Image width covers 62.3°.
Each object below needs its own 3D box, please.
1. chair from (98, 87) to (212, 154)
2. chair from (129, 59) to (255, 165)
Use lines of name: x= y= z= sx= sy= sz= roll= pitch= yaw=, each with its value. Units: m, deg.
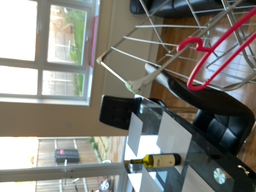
chair: x=0.240 y=0.230 z=2.150 sx=0.540 sy=0.940 sz=0.410 roll=-127 pitch=45 yaw=-59
chair: x=0.550 y=0.100 z=1.330 sx=0.350 sy=0.960 sz=0.470 roll=-129 pitch=46 yaw=-60
